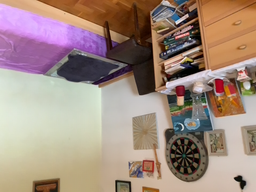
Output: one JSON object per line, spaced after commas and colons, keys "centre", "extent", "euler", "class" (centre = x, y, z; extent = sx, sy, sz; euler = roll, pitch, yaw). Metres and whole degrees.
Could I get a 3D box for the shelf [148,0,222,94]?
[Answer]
{"centre": [0.510, -0.510, 2.010], "extent": [0.330, 0.870, 0.500], "euler": [8, 163, -40], "class": "shelf"}
